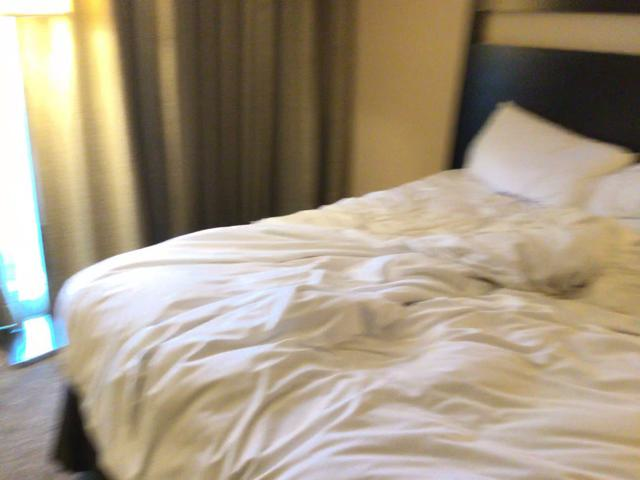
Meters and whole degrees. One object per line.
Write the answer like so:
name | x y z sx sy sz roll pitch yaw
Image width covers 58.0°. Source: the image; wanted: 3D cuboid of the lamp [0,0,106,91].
lamp | -1.160 -0.800 2.070 0.570 0.480 0.410 -17 26 -41

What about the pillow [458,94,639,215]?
pillow | 0.930 -0.380 2.380 0.300 0.360 0.660 -11 22 -29
